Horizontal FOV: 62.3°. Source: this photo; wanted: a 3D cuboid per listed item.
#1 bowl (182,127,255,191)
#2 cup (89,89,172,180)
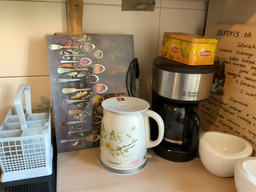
[{"bbox_3d":[0.290,0.210,0.610,0.130,0.090,0.320,-2,20,-12],"label":"bowl"},{"bbox_3d":[-0.010,0.110,0.730,0.210,0.200,0.230,-4,20,-18],"label":"cup"}]
